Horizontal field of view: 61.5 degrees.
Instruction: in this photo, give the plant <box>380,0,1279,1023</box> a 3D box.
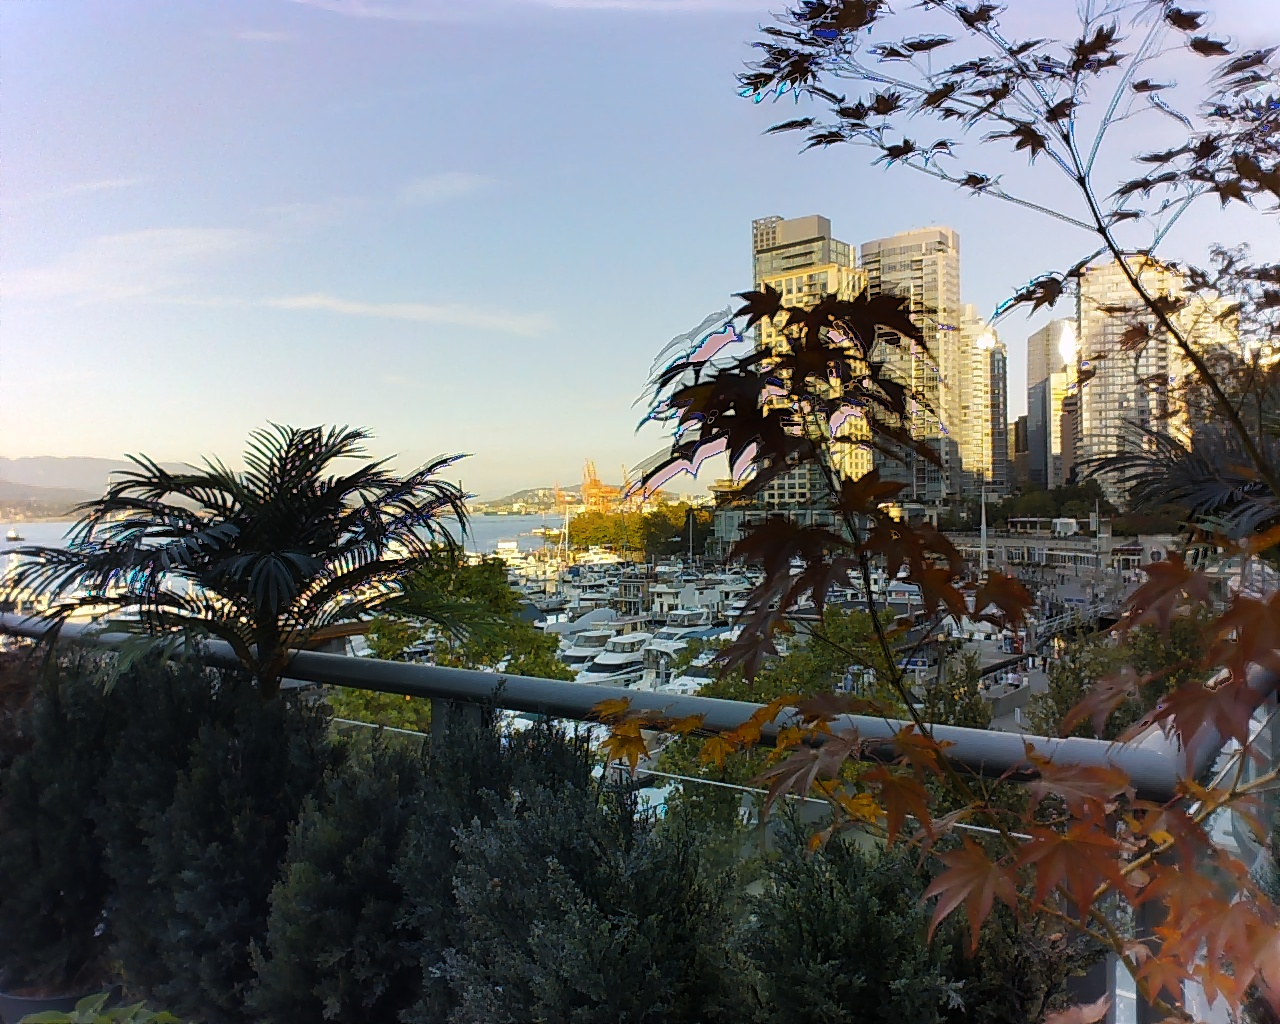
[{"bbox_3d":[0.720,0.110,0.780,1.450,1.640,1.050,-1,0,33],"label":"plant"}]
